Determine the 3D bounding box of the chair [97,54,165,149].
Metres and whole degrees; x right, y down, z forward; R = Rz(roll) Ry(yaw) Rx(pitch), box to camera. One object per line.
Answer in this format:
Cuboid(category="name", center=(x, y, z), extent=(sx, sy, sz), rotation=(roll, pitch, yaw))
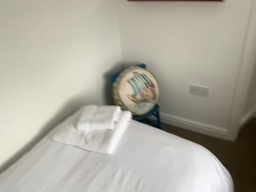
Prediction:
Cuboid(category="chair", center=(0.040, 0.040, 1.990), extent=(0.370, 0.670, 0.470), rotation=(-25, 38, -27))
